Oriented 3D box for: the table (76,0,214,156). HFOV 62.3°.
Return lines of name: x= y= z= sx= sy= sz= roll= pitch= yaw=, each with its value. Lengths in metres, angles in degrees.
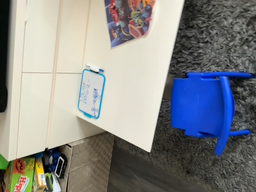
table: x=0.100 y=-0.370 z=1.180 sx=0.550 sy=0.370 sz=1.180 roll=17 pitch=105 yaw=34
